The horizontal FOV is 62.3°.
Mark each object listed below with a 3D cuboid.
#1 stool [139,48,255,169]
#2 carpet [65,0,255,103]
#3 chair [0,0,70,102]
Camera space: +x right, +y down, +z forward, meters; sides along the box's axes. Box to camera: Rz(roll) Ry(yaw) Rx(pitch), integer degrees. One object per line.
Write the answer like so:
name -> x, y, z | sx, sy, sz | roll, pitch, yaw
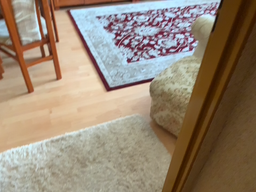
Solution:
stool -> 0.470, 0.050, 1.500 | 0.540, 0.450, 0.530 | 32, 49, 29
carpet -> 0.770, -0.950, 2.990 | 2.890, 0.070, 2.100 | -14, 45, -18
chair -> -0.900, -0.580, 1.680 | 0.480, 1.020, 0.580 | -30, 52, -32
